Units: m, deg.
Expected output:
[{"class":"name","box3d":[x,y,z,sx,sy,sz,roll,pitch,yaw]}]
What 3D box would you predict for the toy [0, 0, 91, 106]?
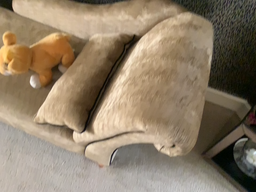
[{"class":"toy","box3d":[-0.420,-0.240,1.060,0.280,0.230,0.460,22,55,6]}]
